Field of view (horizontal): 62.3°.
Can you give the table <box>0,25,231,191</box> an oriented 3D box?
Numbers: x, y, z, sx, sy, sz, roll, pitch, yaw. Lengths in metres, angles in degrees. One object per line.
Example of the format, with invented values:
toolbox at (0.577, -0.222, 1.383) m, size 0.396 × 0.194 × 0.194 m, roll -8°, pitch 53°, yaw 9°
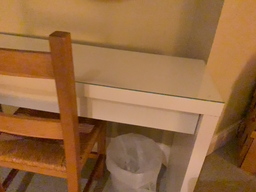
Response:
table at (-0.280, 0.140, 1.120) m, size 1.210 × 0.780 × 0.520 m, roll 8°, pitch 29°, yaw 4°
